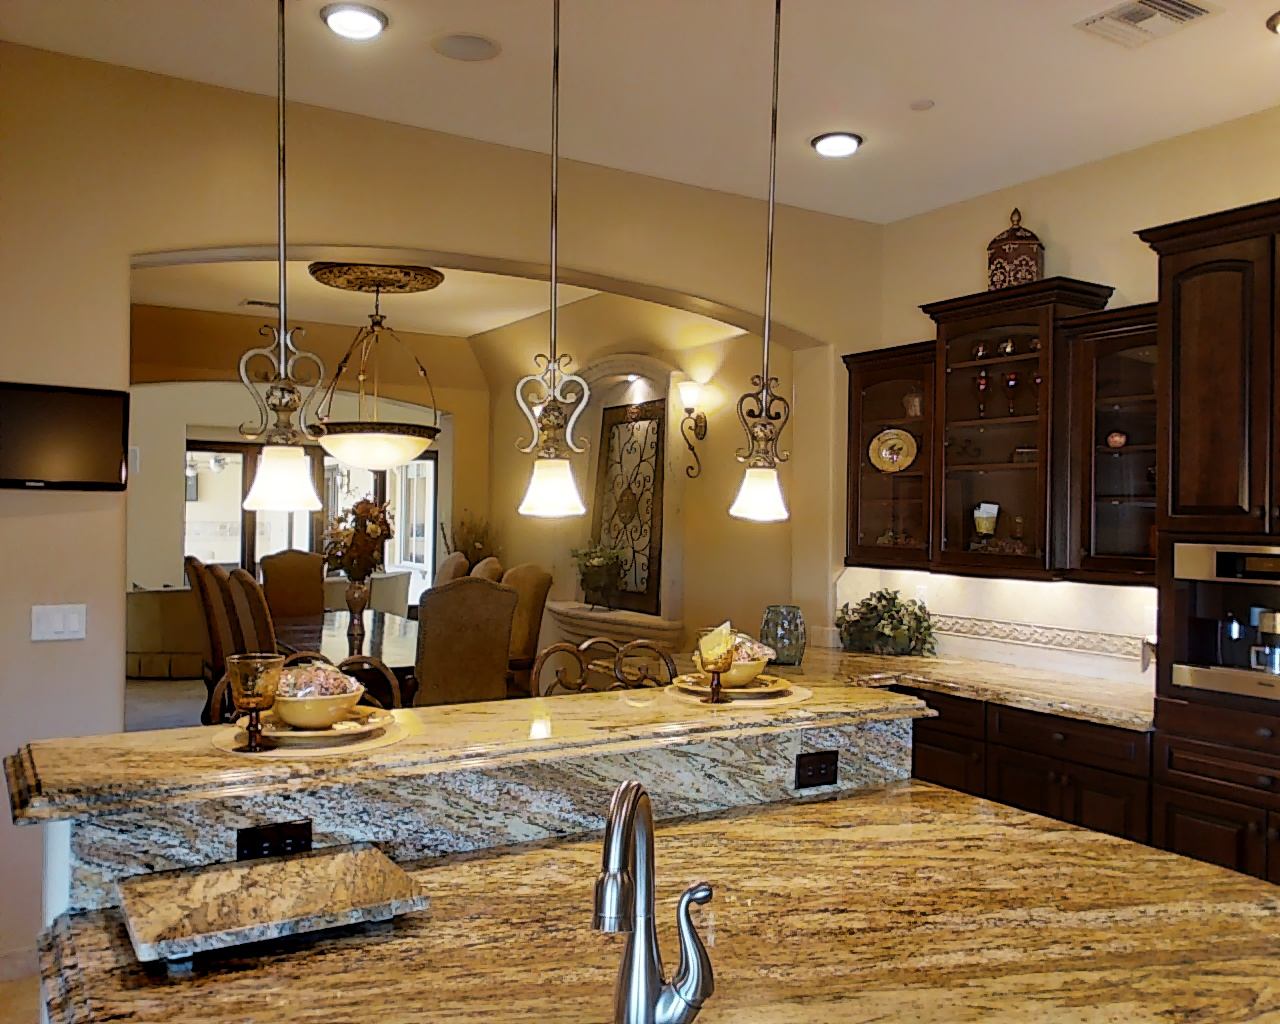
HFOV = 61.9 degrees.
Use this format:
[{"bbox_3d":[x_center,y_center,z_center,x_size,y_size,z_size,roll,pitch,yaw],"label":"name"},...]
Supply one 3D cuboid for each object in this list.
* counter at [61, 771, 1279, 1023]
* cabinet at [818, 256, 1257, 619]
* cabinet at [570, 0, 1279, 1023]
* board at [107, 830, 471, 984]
[{"bbox_3d":[0.260,0.670,1.560,1.860,0.100,1.390,1,-1,-32],"label":"counter"},{"bbox_3d":[1.560,-0.250,4.580,0.360,1.250,1.930,1,-1,-32],"label":"cabinet"},{"bbox_3d":[1.400,0.140,3.620,1.610,2.840,3.790,1,-1,-32],"label":"cabinet"},{"bbox_3d":[-0.550,0.600,1.670,0.480,0.060,0.310,1,-1,-32],"label":"board"}]
